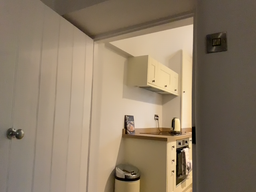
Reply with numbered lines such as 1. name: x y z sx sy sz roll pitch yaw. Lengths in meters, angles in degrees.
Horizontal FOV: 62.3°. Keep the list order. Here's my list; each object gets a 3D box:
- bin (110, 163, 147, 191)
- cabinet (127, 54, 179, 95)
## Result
1. bin: 0.010 1.120 2.500 0.330 0.560 0.290 -1 -6 30
2. cabinet: 0.450 -0.280 3.310 0.340 0.380 1.250 -1 -6 30
